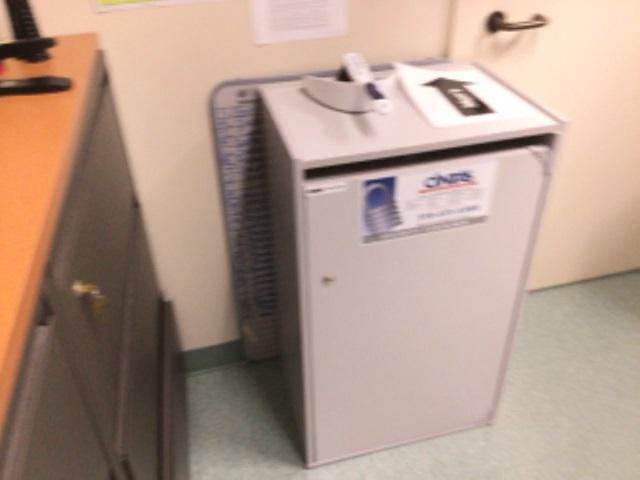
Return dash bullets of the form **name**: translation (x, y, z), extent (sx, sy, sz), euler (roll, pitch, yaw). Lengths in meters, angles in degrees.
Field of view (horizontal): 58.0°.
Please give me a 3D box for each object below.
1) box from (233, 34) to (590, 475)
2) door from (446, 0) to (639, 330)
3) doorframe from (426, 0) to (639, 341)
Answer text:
- **box**: translation (0.180, 0.050, 1.460), extent (0.610, 0.920, 0.460), euler (-11, 35, -8)
- **door**: translation (0.790, -0.610, 1.440), extent (0.860, 1.940, 0.110), euler (-11, 35, -8)
- **doorframe**: translation (0.790, -0.600, 1.420), extent (1.010, 1.950, 0.120), euler (-11, 35, -8)
